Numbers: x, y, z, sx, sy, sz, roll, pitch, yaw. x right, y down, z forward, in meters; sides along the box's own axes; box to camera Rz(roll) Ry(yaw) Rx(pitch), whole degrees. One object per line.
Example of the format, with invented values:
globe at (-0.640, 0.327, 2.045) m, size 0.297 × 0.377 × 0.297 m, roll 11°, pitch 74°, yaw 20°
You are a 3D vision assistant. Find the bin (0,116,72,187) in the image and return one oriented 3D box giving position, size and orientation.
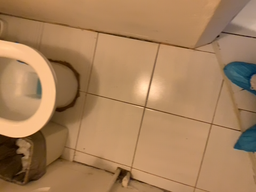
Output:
bin at (-0.510, 0.250, 1.070) m, size 0.290 × 0.340 × 0.180 m, roll 14°, pitch 96°, yaw 10°
